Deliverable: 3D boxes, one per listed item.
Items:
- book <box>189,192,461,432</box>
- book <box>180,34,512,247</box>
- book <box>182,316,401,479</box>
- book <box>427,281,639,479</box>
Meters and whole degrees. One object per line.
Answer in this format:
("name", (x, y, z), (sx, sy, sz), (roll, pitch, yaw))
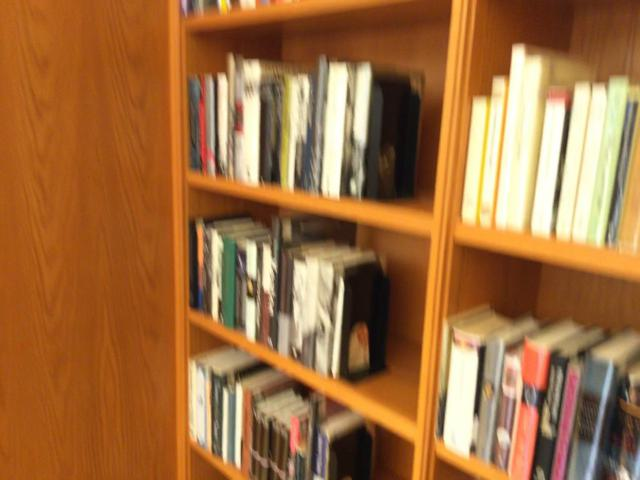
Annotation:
("book", (-0.030, 0.110, 1.350), (0.250, 0.370, 0.630), (-5, 14, -42))
("book", (-0.010, -0.220, 1.220), (0.210, 0.320, 0.750), (-5, 14, -42))
("book", (-0.100, 0.460, 1.450), (0.240, 0.370, 0.540), (-5, 14, -42))
("book", (0.520, 0.300, 0.720), (0.200, 0.310, 0.770), (-5, 14, -42))
